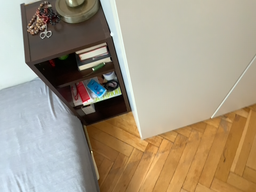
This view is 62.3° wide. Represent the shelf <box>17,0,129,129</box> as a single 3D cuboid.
[{"bbox_3d":[-0.220,-0.130,1.110,0.300,0.710,0.330,-19,64,-3],"label":"shelf"}]
